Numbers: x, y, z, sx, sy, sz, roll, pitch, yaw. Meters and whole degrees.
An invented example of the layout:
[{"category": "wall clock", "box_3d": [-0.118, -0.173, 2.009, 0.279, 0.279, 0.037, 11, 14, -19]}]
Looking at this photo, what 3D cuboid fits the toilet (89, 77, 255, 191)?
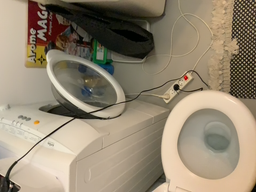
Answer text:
[{"category": "toilet", "box_3d": [0.270, 0.270, 0.870, 0.390, 0.840, 0.620, 12, 102, 29]}]
